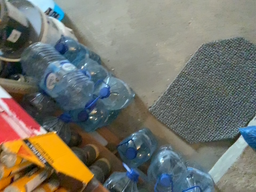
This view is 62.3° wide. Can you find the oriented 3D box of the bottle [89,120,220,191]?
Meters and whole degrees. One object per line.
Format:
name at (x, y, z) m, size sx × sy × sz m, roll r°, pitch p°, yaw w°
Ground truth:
bottle at (0.150, 0.400, 1.020) m, size 0.490 × 0.390 × 0.280 m, roll 40°, pitch 96°, yaw 10°
